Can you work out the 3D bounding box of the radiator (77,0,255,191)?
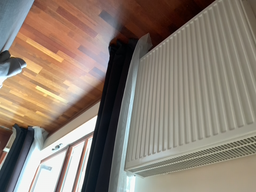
[{"bbox_3d":[0.200,-0.010,1.330,0.200,1.020,1.240,31,138,-28],"label":"radiator"}]
